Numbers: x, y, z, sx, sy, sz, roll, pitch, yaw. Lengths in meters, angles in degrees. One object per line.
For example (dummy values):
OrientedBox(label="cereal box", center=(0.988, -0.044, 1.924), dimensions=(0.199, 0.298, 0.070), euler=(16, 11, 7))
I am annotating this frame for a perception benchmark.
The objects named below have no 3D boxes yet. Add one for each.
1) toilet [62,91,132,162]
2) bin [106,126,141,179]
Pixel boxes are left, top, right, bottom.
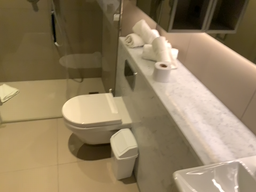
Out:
OrientedBox(label="toilet", center=(-0.290, 0.250, 1.860), dimensions=(0.510, 0.410, 0.390), euler=(-5, 37, -17))
OrientedBox(label="bin", center=(-0.050, 0.450, 1.690), dimensions=(0.200, 0.340, 0.220), euler=(-4, 36, -16))
